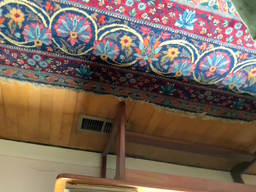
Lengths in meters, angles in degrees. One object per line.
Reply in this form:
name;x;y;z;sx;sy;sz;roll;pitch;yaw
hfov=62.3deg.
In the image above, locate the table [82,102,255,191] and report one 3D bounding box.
table;0.410;0.460;1.160;1.260;0.460;0.490;9;131;-12
